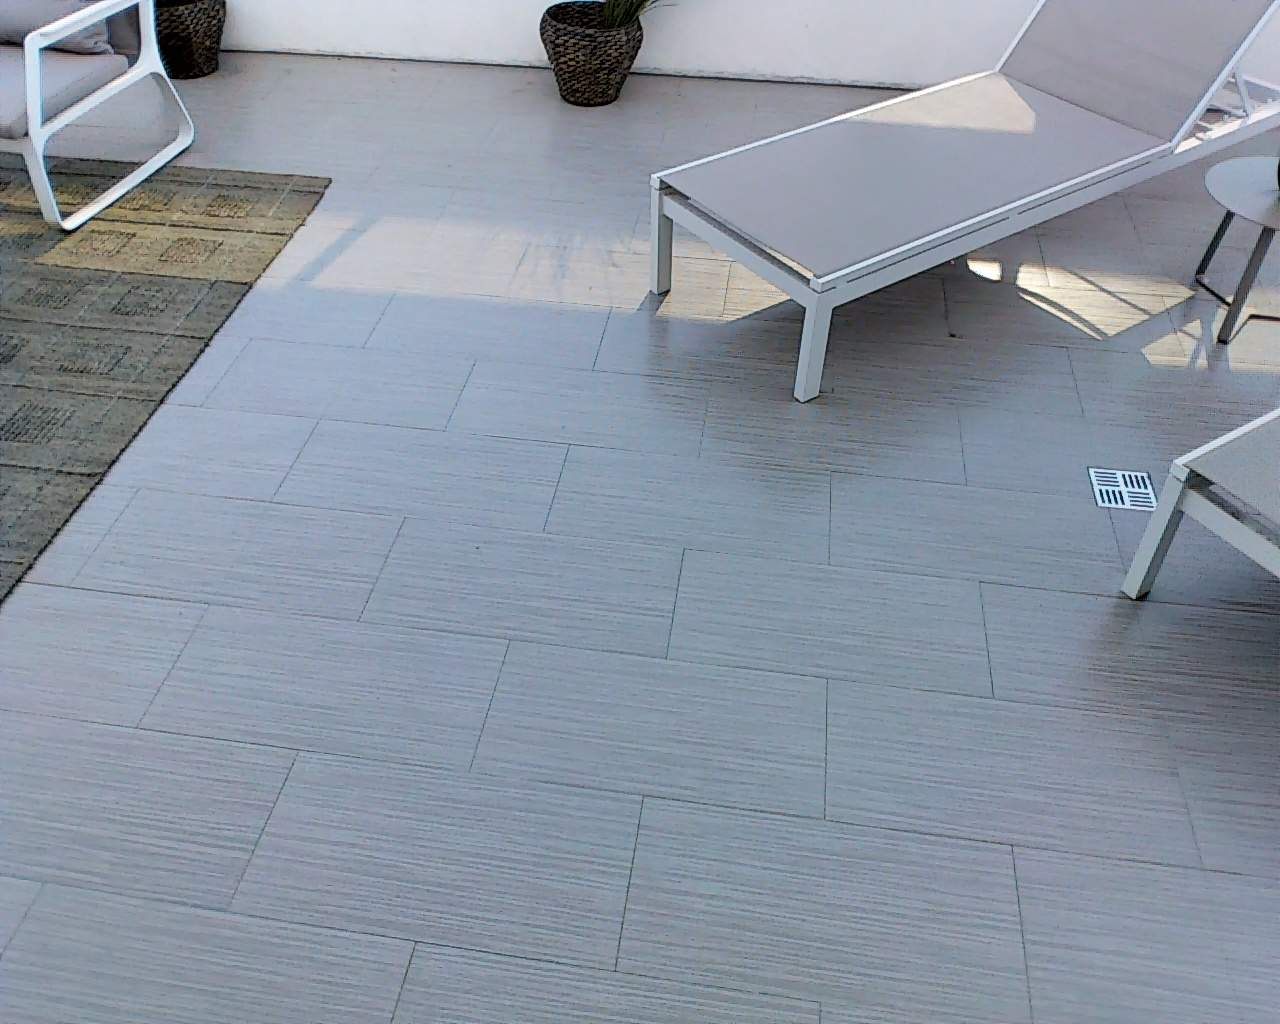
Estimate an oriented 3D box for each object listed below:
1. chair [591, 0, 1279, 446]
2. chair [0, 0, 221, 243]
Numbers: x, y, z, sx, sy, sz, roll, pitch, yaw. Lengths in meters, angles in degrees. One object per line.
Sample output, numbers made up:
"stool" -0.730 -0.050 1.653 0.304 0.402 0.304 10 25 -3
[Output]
"chair" 1.010 -1.210 2.890 2.150 1.070 0.870 -26 49 -26
"chair" -1.980 -1.420 3.280 0.860 0.770 0.870 8 43 8
